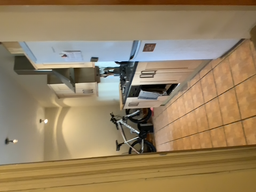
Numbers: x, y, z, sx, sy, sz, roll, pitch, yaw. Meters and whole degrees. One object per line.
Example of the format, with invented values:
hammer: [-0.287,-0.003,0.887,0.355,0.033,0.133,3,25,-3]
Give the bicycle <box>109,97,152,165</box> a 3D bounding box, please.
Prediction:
bicycle: [0.030,0.920,5.730,0.550,0.980,1.700,118,149,-74]
